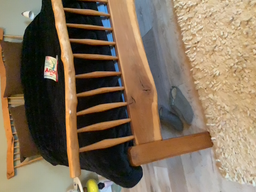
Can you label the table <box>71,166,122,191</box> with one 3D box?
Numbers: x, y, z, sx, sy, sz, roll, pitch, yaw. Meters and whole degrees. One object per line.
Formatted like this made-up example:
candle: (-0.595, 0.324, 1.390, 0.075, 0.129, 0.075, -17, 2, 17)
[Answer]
table: (-0.440, 1.260, 2.970, 0.410, 0.570, 0.400, -30, 69, 61)
